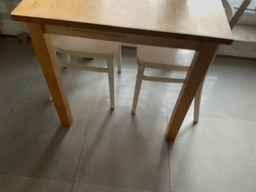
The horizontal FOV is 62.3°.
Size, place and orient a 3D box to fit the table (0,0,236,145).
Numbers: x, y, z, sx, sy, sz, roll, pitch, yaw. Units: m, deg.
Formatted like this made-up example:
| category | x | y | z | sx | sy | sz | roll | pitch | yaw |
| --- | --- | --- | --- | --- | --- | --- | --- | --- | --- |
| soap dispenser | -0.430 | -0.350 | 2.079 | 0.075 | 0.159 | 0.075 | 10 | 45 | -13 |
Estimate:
| category | x | y | z | sx | sy | sz | roll | pitch | yaw |
| --- | --- | --- | --- | --- | --- | --- | --- | --- | --- |
| table | -0.020 | -0.300 | 1.240 | 0.800 | 0.750 | 0.790 | 8 | 50 | 2 |
